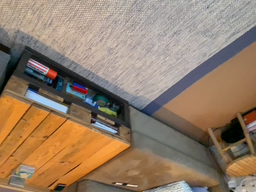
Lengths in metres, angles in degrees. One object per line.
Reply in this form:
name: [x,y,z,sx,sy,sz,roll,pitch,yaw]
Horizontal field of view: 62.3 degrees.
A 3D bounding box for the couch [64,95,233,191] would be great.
couch: [0.200,0.800,1.860,1.190,0.880,0.880,29,127,-31]
